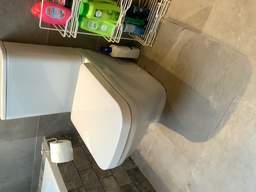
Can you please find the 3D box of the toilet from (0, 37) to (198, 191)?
[{"bbox_3d":[-0.200,0.040,1.110,0.640,0.810,0.400,44,126,41],"label":"toilet"}]
